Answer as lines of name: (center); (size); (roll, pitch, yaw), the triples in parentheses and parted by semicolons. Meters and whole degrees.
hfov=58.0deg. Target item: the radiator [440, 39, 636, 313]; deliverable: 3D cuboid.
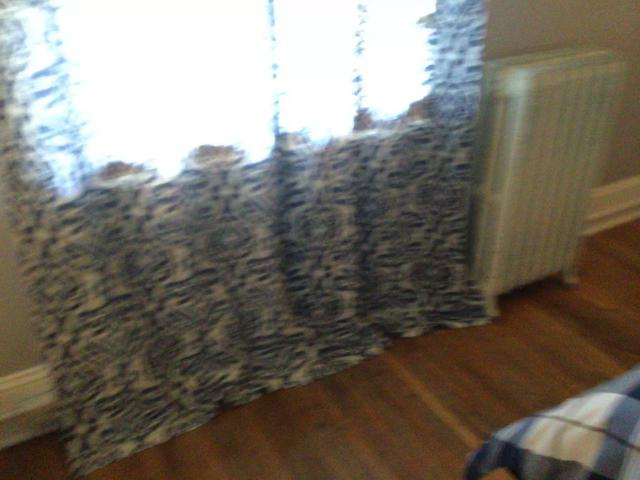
radiator: (0.790, -0.250, 2.190); (0.530, 0.880, 0.330); (-17, 30, -25)
